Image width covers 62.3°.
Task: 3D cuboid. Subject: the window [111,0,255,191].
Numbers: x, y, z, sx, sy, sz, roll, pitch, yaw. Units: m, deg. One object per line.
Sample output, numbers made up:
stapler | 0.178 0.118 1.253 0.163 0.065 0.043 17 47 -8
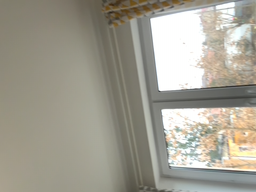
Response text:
window | 0.840 0.020 1.760 0.220 1.740 1.620 -43 -55 -62
